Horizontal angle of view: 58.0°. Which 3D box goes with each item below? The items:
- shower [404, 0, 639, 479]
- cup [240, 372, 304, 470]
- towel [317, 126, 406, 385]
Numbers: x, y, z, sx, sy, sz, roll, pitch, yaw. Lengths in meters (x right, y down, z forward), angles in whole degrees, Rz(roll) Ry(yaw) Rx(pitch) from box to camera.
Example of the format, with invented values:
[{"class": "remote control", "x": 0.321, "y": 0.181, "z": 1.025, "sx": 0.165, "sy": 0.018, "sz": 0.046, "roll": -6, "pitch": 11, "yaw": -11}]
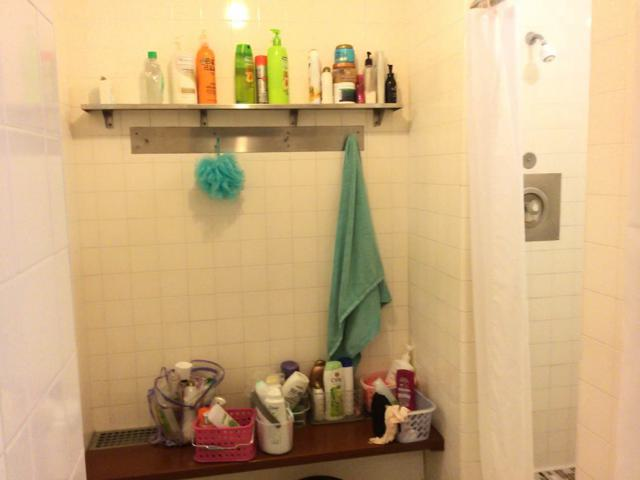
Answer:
[{"class": "shower", "x": 0.900, "y": 0.120, "z": 2.000, "sx": 0.840, "sy": 2.180, "sz": 1.130, "roll": -2, "pitch": 4, "yaw": -11}, {"class": "cup", "x": -0.190, "y": 0.660, "z": 2.160, "sx": 0.190, "sy": 0.210, "sz": 0.380, "roll": -2, "pitch": 4, "yaw": -11}, {"class": "towel", "x": 0.170, "y": 0.060, "z": 2.390, "sx": 0.320, "sy": 1.030, "sz": 0.140, "roll": -2, "pitch": 4, "yaw": -11}]
